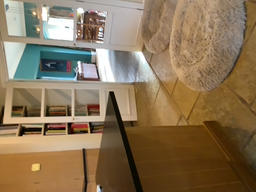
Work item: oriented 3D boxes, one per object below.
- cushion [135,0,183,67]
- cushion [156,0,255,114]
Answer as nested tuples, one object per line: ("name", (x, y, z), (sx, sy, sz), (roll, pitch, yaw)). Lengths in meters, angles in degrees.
("cushion", (0.360, -1.040, 2.650), (0.860, 0.110, 1.050), (-111, 28, -50))
("cushion", (0.590, -0.540, 1.910), (0.990, 0.090, 0.990), (-111, 28, -50))
